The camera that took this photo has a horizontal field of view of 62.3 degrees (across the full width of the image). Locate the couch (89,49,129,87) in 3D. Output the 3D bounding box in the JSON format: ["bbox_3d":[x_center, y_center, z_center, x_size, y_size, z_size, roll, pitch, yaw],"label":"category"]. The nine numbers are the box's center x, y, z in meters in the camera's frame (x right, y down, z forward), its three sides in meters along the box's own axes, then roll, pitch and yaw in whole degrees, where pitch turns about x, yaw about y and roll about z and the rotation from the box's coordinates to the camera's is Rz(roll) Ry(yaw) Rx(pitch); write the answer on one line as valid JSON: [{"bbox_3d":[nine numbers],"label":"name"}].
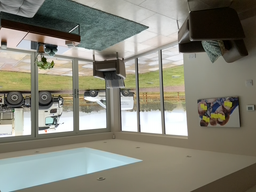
[{"bbox_3d":[-0.480,-0.710,5.740,0.760,0.810,0.930,-3,176,19],"label":"couch"}]

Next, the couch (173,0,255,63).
[{"bbox_3d":[1.240,-0.960,3.240,0.880,0.720,0.810,-2,176,-2],"label":"couch"}]
